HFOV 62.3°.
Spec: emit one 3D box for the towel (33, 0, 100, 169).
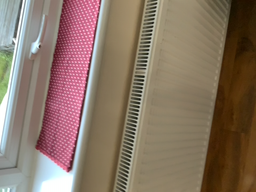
[{"bbox_3d":[-0.200,-0.130,0.700,0.220,0.020,0.670,9,89,42],"label":"towel"}]
